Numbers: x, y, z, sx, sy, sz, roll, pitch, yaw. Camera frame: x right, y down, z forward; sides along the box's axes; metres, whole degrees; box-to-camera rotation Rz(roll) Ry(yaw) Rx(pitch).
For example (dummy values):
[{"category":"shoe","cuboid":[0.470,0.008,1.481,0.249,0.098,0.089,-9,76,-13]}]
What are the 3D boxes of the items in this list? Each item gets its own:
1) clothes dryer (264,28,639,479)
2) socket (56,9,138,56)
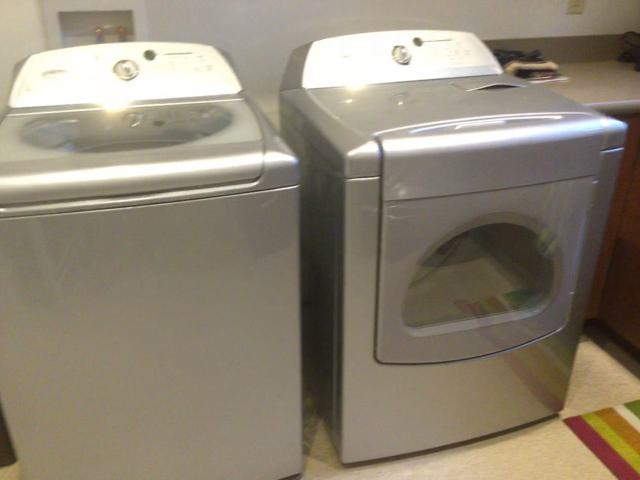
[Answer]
[{"category":"clothes dryer","cuboid":[0.310,-0.020,1.730,0.750,1.070,0.740,-9,26,-17]},{"category":"socket","cuboid":[-0.670,-0.630,1.750,0.210,0.120,0.090,-9,26,-17]}]
